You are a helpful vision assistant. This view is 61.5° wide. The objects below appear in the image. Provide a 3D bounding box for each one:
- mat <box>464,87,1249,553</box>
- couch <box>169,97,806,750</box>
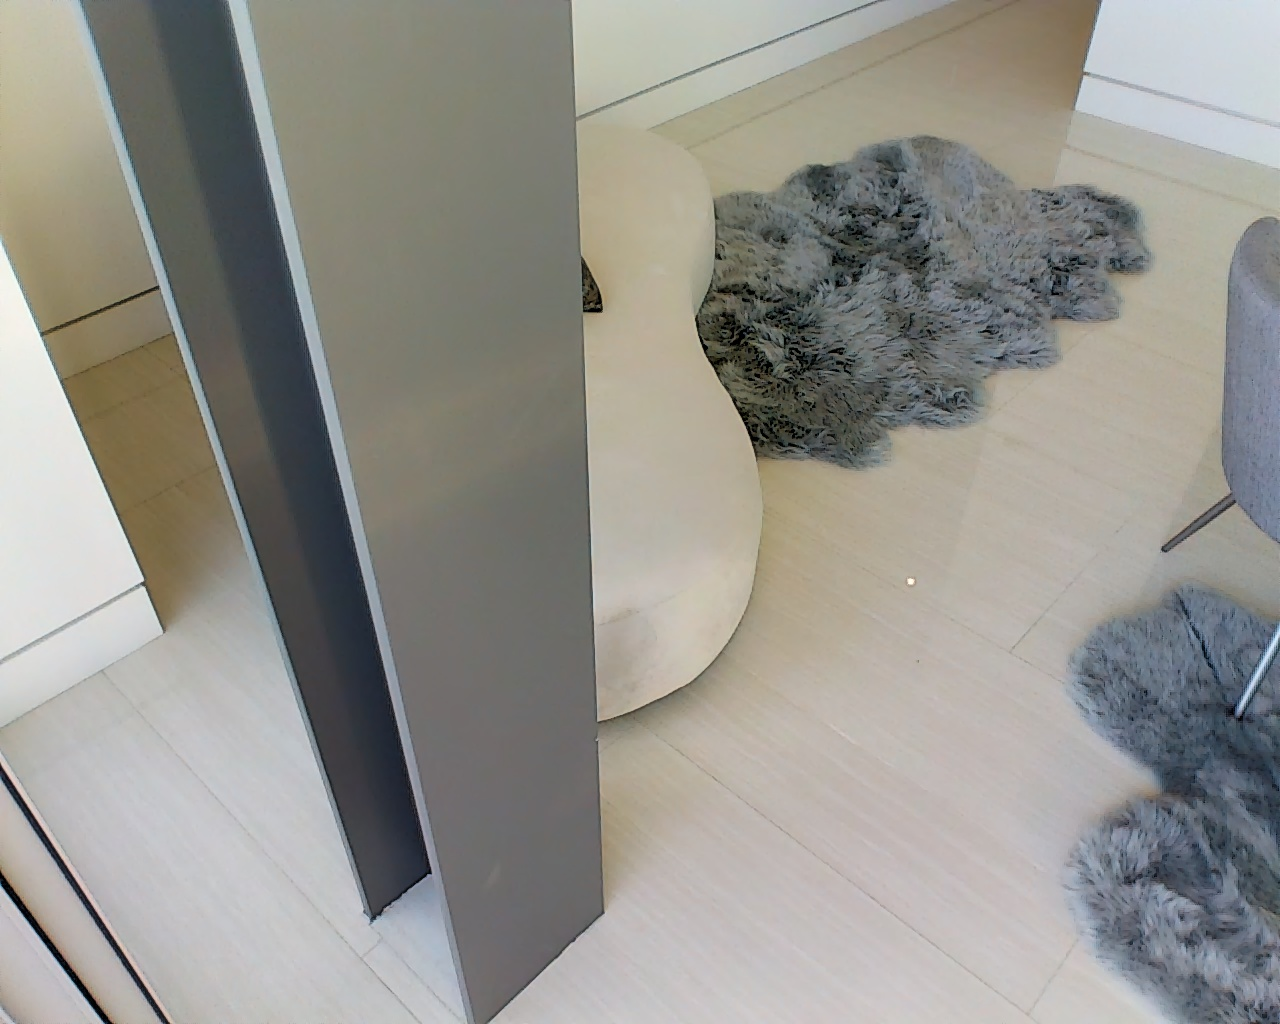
[{"bbox_3d":[0.690,-0.730,3.070,1.270,0.100,2.010,32,51,31],"label":"mat"},{"bbox_3d":[-0.260,-0.400,2.510,0.970,0.360,2.010,-1,42,-1],"label":"couch"}]
